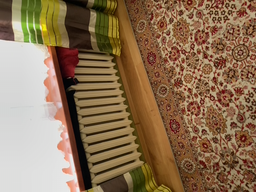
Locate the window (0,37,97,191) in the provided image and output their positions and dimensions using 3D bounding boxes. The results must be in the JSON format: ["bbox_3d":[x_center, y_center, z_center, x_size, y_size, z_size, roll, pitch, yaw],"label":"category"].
[{"bbox_3d":[-1.040,0.210,1.340,0.200,1.520,1.270,-29,72,47],"label":"window"}]
